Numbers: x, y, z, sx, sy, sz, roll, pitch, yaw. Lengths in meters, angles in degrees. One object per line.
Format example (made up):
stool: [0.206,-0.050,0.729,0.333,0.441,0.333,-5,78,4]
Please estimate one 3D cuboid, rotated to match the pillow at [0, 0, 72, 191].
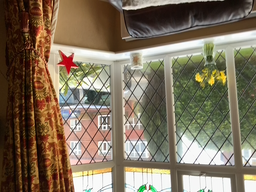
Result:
pillow: [-0.830,0.020,1.810,0.600,2.600,0.520,-1,174,-6]
